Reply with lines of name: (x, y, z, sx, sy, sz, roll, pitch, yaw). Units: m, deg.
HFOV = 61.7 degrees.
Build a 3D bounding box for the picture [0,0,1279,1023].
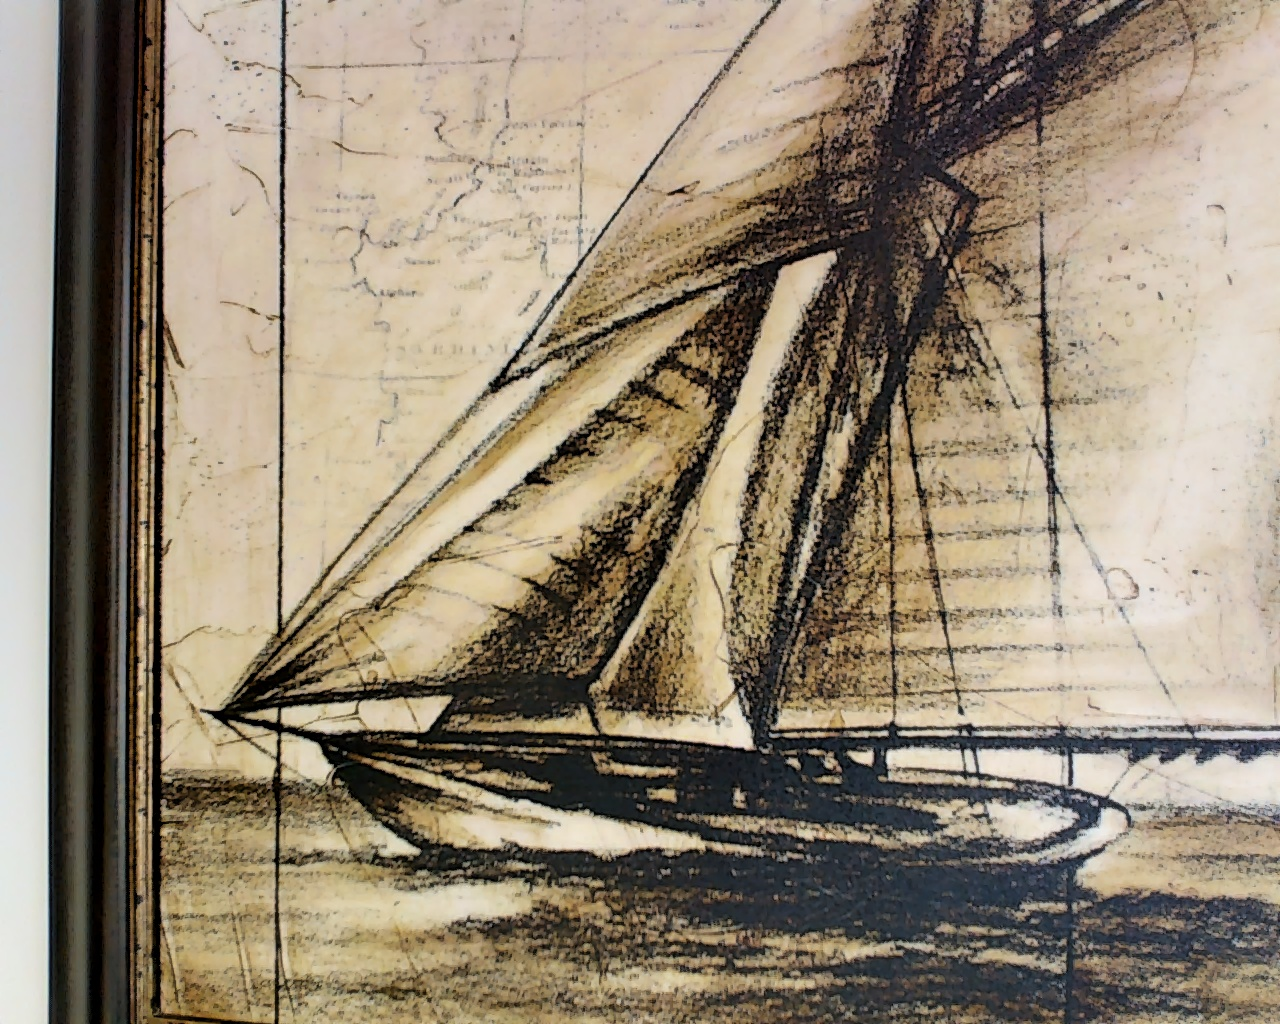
picture: (0.090, -0.160, 0.610, 1.000, 1.150, 0.060, 1, -1, 10)
